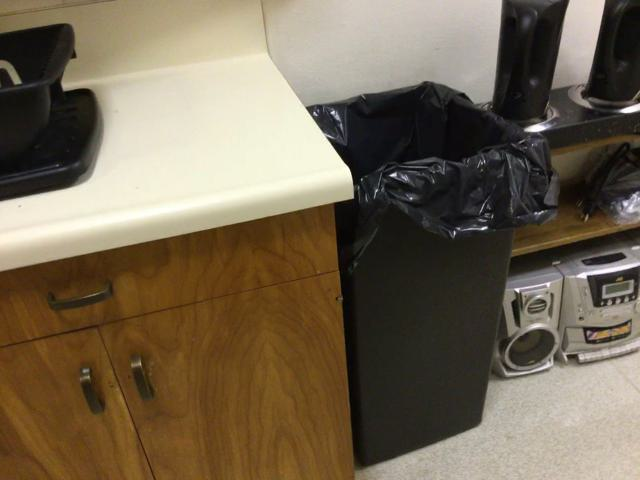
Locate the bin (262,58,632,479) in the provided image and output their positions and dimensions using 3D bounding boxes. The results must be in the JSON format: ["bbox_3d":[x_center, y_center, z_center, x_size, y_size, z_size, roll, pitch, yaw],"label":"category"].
[{"bbox_3d":[0.230,0.100,1.360,0.520,0.820,0.550,-13,35,-9],"label":"bin"}]

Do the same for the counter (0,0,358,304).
[{"bbox_3d":[-0.860,-0.120,0.870,1.690,0.260,0.680,-13,35,-9],"label":"counter"}]

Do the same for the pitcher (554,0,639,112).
[{"bbox_3d":[0.650,-0.450,1.280,0.170,0.270,0.130,-13,35,-9],"label":"pitcher"}]

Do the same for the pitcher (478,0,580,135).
[{"bbox_3d":[0.440,-0.390,1.240,0.140,0.280,0.120,-13,35,-10],"label":"pitcher"}]
